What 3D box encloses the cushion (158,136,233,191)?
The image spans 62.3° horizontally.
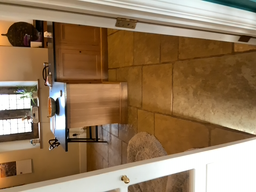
[{"bbox_3d":[0.570,1.000,2.020,0.820,0.090,1.050,11,101,61],"label":"cushion"}]

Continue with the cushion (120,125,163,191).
[{"bbox_3d":[0.140,0.960,2.830,0.920,0.070,0.960,12,102,61],"label":"cushion"}]
